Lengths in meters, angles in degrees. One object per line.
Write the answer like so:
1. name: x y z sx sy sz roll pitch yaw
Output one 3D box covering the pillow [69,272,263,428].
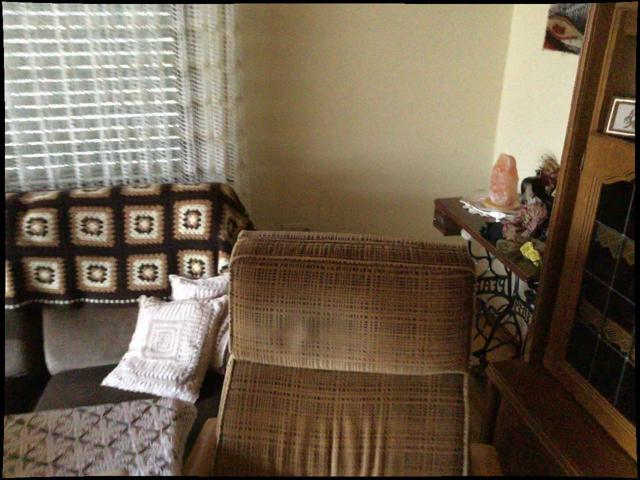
1. pillow: -0.470 0.330 1.870 0.440 0.230 0.410 8 26 15
